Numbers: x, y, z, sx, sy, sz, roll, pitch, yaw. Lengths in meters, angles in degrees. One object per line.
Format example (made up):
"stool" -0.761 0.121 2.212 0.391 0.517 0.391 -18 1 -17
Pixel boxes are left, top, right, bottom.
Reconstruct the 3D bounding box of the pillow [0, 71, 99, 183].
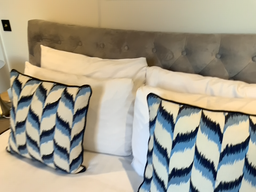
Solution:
"pillow" -0.370 0.110 0.950 0.400 0.380 0.170 12 8 20

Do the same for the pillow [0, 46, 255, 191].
"pillow" 0.060 0.070 1.010 1.360 0.450 0.340 10 27 23

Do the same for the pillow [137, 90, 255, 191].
"pillow" 0.250 0.230 0.700 0.380 0.410 0.180 12 20 23
